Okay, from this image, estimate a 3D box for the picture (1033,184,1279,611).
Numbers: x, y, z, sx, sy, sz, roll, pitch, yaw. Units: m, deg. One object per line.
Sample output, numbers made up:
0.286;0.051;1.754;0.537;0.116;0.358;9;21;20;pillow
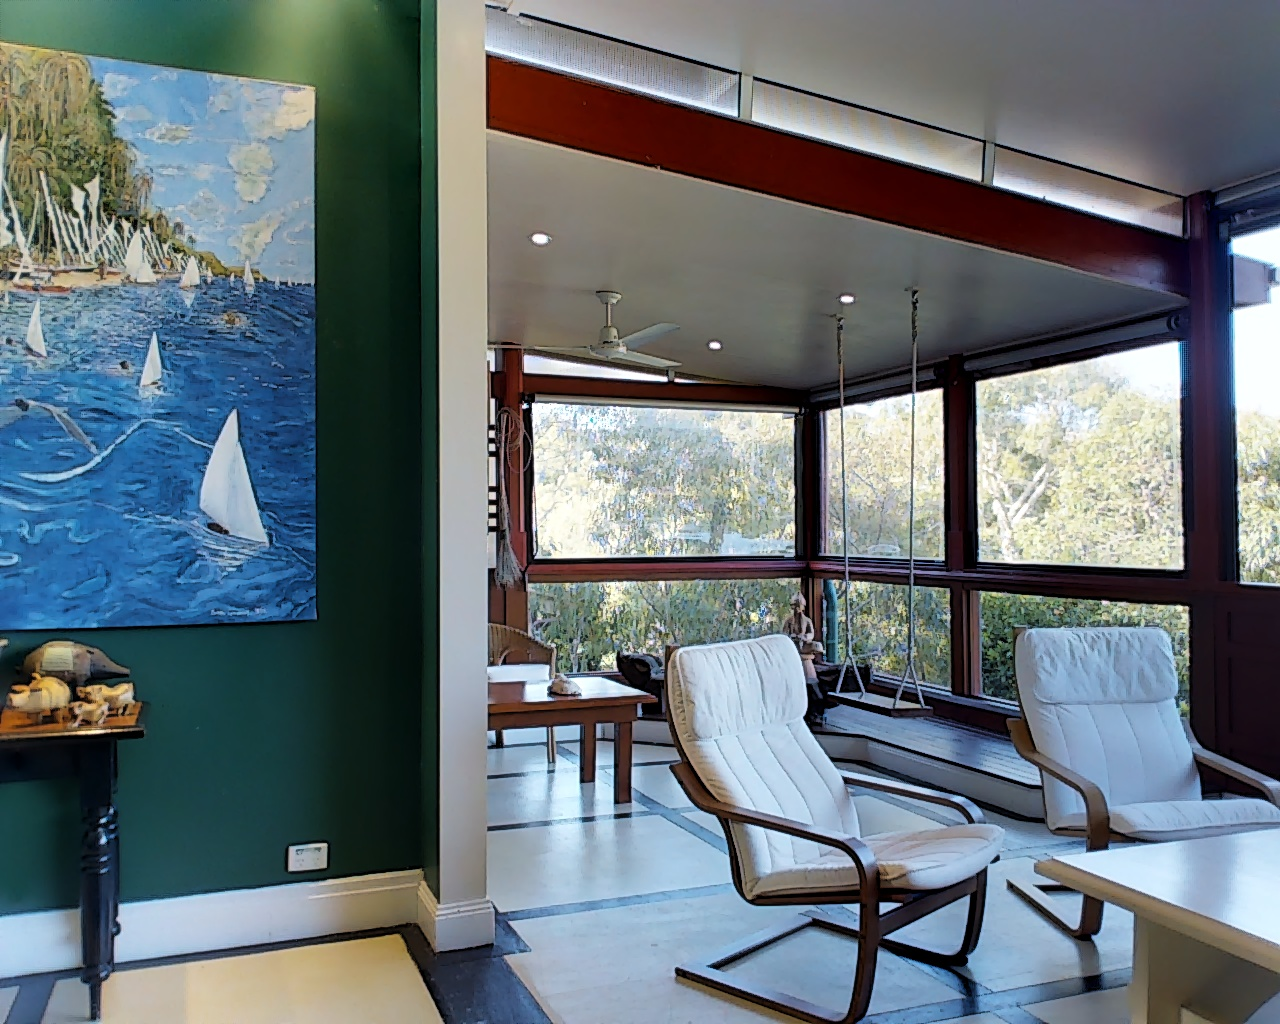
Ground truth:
2.669;-0.480;4.730;0.100;1.801;2.530;1;-1;-22;picture
